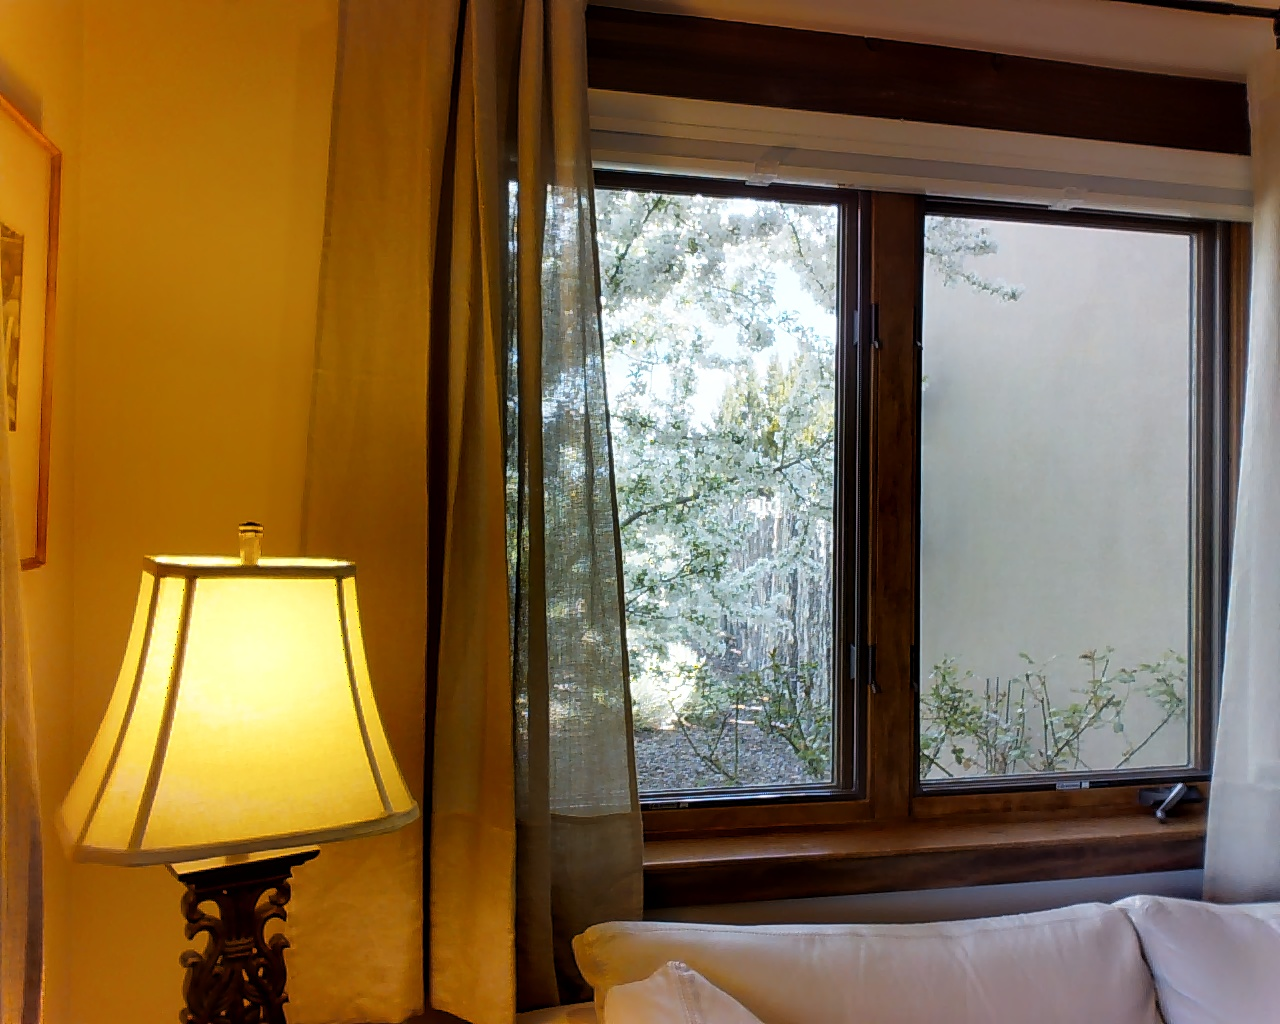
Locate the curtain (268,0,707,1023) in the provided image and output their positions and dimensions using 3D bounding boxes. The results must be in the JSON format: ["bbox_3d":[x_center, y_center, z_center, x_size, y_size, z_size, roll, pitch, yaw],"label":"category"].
[{"bbox_3d":[-0.220,-0.070,1.560,0.560,1.710,0.240,1,0,-14],"label":"curtain"}]
